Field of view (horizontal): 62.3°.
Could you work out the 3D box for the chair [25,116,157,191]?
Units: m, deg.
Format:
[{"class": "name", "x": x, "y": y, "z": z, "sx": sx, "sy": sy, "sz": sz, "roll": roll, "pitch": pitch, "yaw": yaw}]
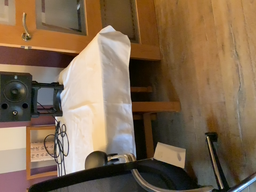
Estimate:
[{"class": "chair", "x": -0.310, "y": 0.430, "z": 1.790, "sx": 0.520, "sy": 0.950, "sz": 0.430, "roll": -15, "pitch": 78, "yaw": 58}]
